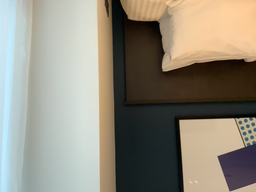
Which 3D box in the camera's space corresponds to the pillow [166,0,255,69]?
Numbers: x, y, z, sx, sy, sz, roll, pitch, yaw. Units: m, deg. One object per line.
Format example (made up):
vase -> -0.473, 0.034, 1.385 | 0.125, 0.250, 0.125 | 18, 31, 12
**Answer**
pillow -> 0.600, -0.440, 1.440 | 0.590, 0.380, 0.220 | 12, -179, 5
